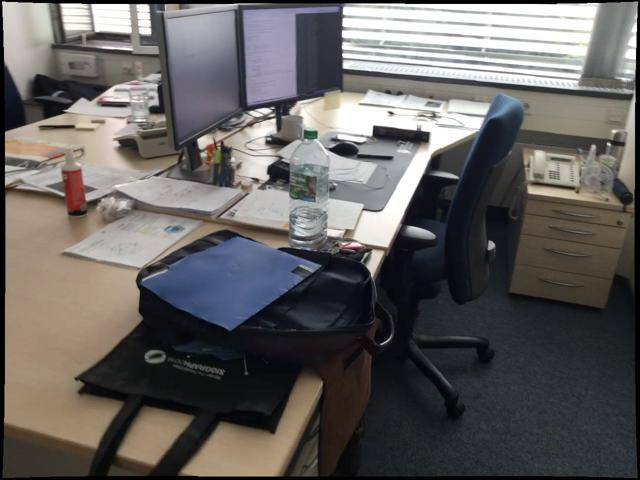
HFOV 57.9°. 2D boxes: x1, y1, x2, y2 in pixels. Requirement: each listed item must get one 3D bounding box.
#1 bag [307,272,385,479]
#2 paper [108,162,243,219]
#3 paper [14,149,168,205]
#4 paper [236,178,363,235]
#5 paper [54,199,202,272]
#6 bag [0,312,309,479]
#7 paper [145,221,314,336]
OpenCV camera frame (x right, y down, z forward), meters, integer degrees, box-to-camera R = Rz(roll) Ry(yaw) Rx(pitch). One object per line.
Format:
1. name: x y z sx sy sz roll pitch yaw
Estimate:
1. bag: 0.050 0.450 1.250 0.060 0.681 0.340 9 27 14
2. paper: -0.410 -0.150 1.670 0.310 0.050 0.220 9 27 14
3. paper: -0.689 -0.200 1.770 0.340 0.040 0.280 9 27 14
4. paper: -0.050 -0.100 1.610 0.290 0.030 0.250 9 27 14
5. paper: -0.460 -0.020 1.420 0.240 0.040 0.260 9 27 14
6. bag: -0.240 0.270 0.910 0.350 0.070 0.360 9 27 14
7. paper: -0.160 0.060 1.140 0.210 0.040 0.330 9 27 14
